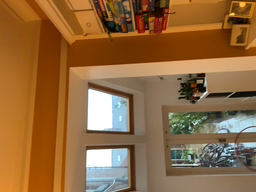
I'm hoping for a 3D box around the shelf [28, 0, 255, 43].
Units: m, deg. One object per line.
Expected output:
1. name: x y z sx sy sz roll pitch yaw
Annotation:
1. shelf: 0.150 -0.930 1.650 1.290 1.830 0.340 68 -160 -76
